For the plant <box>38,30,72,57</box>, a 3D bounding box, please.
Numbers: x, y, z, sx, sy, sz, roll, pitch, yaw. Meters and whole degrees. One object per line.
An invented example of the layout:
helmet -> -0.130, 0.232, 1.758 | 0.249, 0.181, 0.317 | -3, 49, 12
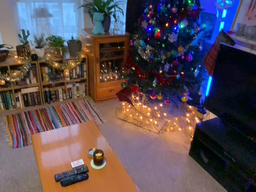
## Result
plant -> -0.930, -0.680, 2.700 | 0.320, 0.240, 0.360 | -11, 32, -27

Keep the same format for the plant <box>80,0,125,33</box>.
plant -> -0.340, -1.120, 2.710 | 0.410, 0.490, 0.470 | -12, 32, -27

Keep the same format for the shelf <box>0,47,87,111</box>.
shelf -> -1.180, -0.240, 2.760 | 1.220, 0.620, 0.300 | -12, 32, -27

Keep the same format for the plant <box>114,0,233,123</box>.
plant -> 0.510, -0.930, 2.570 | 0.960, 2.190, 0.900 | -14, 34, -31
